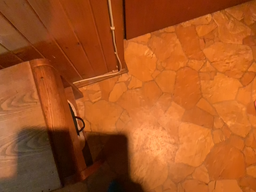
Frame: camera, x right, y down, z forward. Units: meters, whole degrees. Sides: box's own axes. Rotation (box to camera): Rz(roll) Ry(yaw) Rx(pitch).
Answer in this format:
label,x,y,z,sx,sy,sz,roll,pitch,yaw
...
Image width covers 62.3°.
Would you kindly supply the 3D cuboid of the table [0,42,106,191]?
label,x,y,z,sx,sy,sz,roll,pitch,yaw
table,-0.520,0.200,0.820,0.740,0.560,0.400,-17,78,-4
